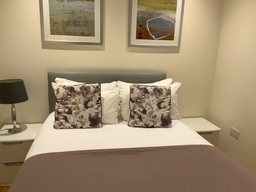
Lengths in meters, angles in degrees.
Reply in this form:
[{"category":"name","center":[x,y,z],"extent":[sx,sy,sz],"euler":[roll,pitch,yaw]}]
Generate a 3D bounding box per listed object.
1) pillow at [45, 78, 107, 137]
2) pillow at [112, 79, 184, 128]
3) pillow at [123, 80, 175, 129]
[{"category":"pillow","center":[-0.450,0.100,1.890],"extent":[0.430,0.390,0.110],"euler":[-21,31,-13]},{"category":"pillow","center":[0.170,0.050,2.260],"extent":[0.600,0.370,0.570],"euler":[0,13,-11]},{"category":"pillow","center":[0.210,0.090,2.020],"extent":[0.400,0.400,0.090],"euler":[-17,35,4]}]
